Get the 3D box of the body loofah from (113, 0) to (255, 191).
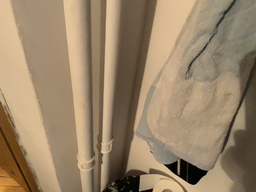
[{"bbox_3d":[0.120,-0.040,0.430,0.240,0.520,0.160,35,49,28],"label":"body loofah"}]
